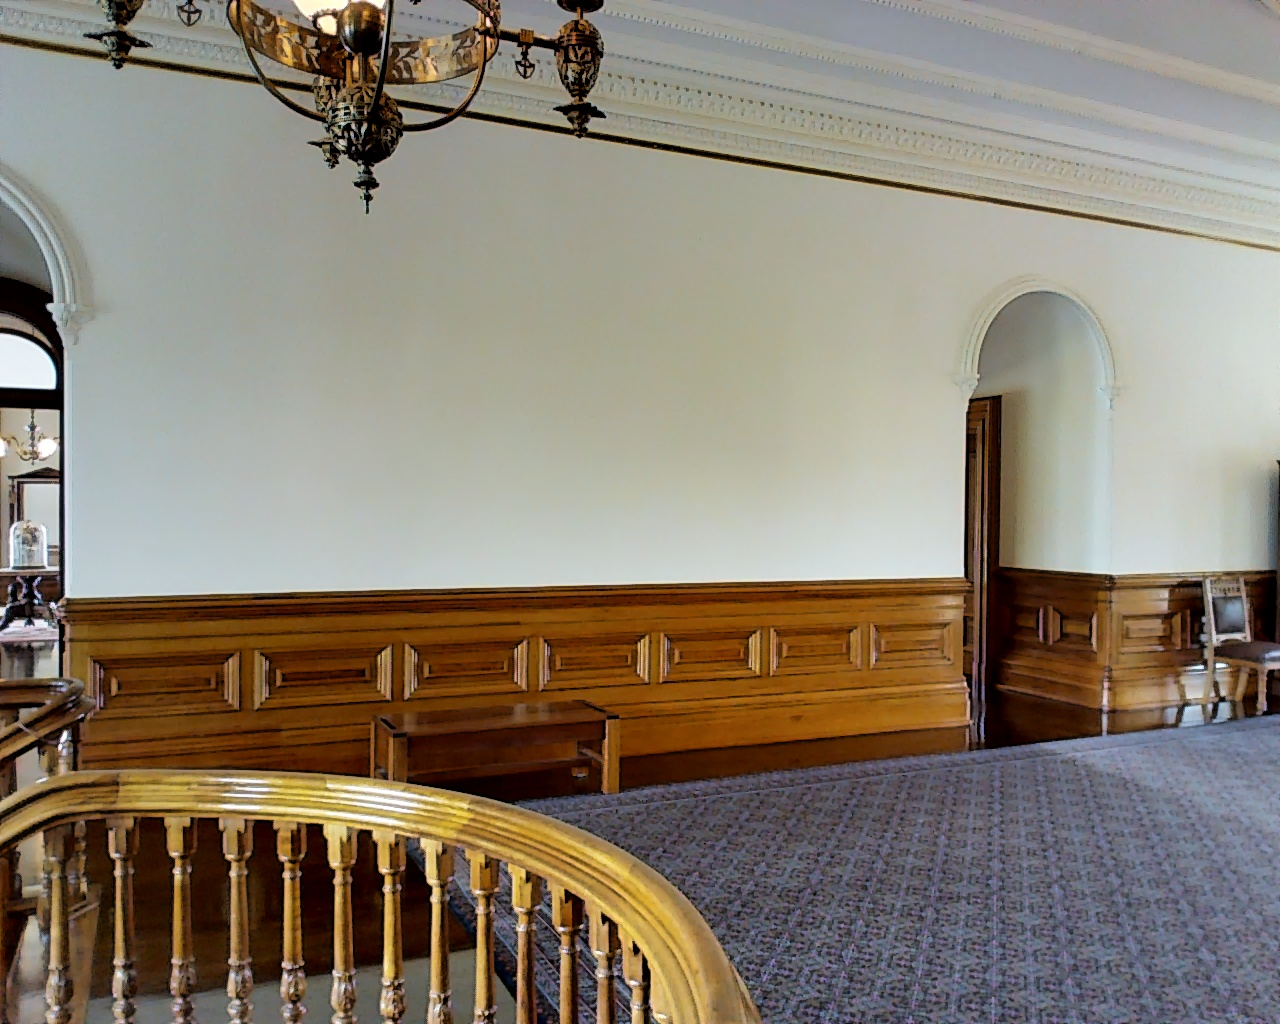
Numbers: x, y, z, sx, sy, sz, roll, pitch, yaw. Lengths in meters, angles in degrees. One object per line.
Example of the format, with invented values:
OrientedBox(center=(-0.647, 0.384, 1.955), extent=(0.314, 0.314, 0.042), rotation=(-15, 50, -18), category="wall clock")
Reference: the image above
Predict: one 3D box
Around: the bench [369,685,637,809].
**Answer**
OrientedBox(center=(-0.760, 1.250, 5.880), extent=(1.280, 0.410, 0.760), rotation=(1, 1, -25), category="bench")
